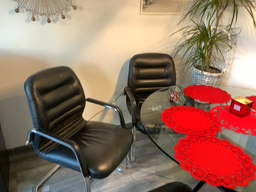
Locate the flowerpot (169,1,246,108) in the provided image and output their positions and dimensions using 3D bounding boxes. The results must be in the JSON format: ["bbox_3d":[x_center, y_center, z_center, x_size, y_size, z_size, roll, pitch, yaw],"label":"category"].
[{"bbox_3d":[0.800,-0.450,2.200,0.430,0.950,0.490,21,30,33],"label":"flowerpot"}]
